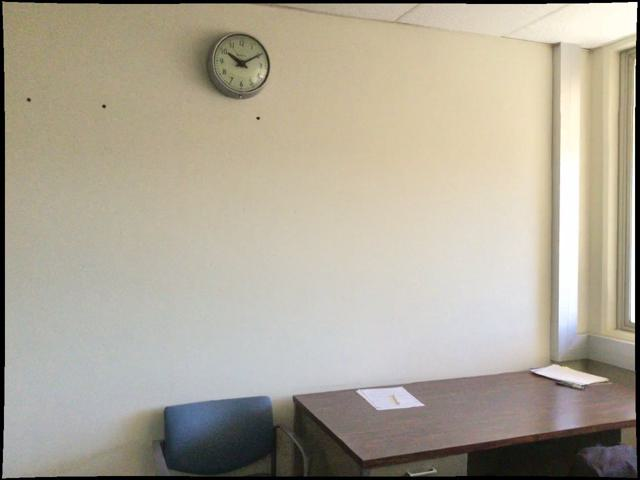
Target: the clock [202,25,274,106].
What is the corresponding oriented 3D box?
[{"bbox_3d":[-0.359,-0.752,2.510,0.279,0.291,0.140,-2,3,-20],"label":"clock"}]
